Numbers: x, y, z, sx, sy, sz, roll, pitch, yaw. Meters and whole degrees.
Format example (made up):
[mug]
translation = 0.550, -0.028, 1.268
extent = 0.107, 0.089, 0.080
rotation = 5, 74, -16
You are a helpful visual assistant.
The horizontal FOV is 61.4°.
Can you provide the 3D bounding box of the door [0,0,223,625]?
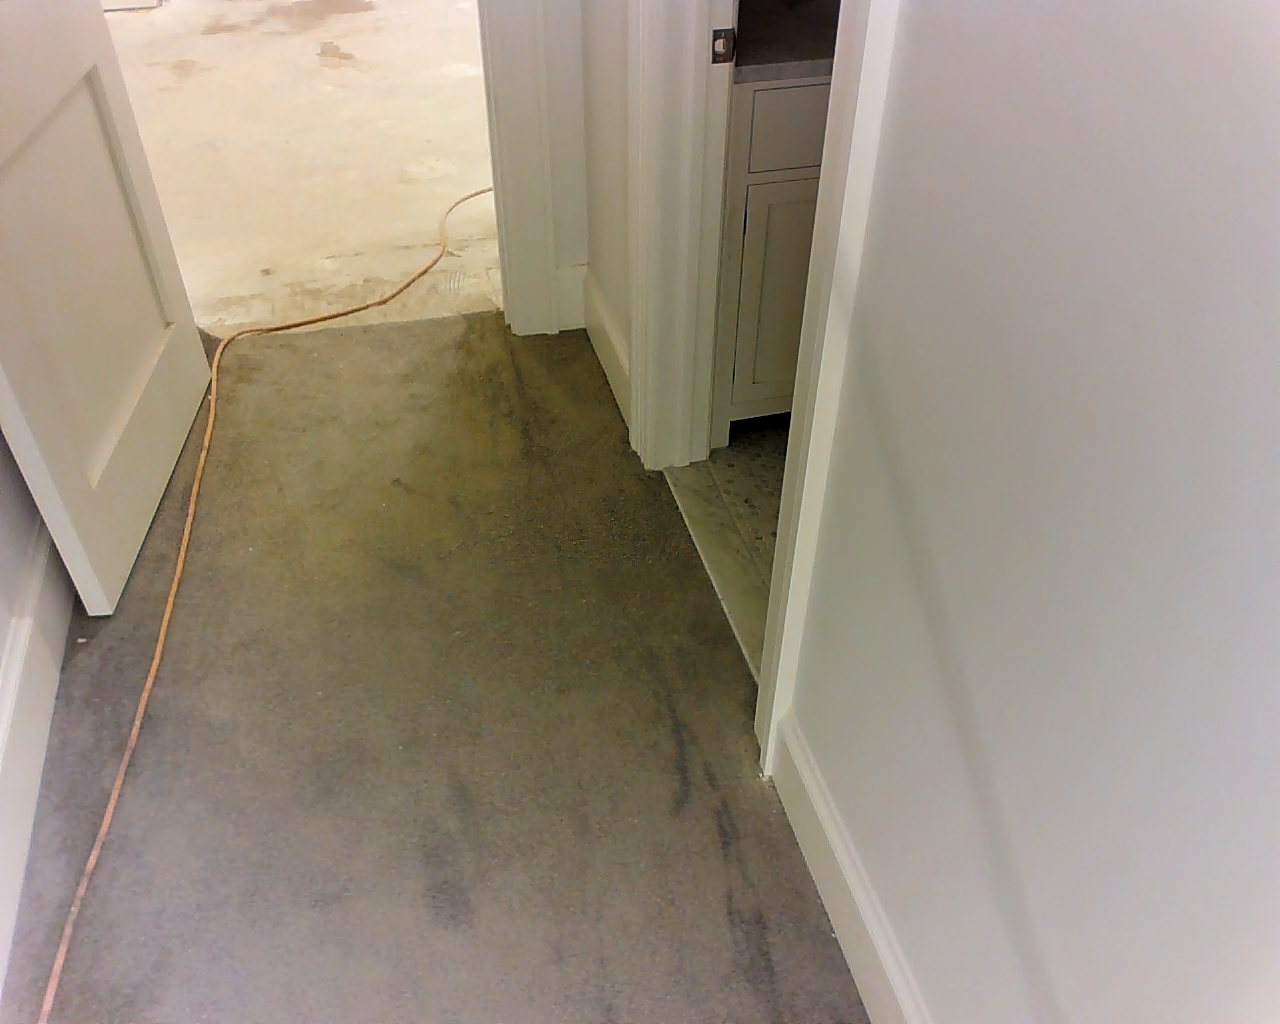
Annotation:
[door]
translation = -1.050, -0.850, 1.710
extent = 0.060, 2.140, 0.810
rotation = -2, 41, -3
